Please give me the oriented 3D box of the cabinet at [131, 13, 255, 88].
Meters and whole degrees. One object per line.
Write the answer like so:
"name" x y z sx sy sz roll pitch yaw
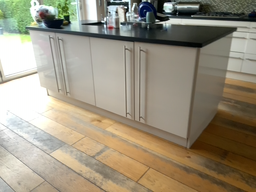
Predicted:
"cabinet" 1.430 -0.820 3.470 3.010 0.900 0.640 18 30 35

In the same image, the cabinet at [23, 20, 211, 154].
"cabinet" -0.270 -0.260 2.250 1.990 0.910 0.450 17 30 33
